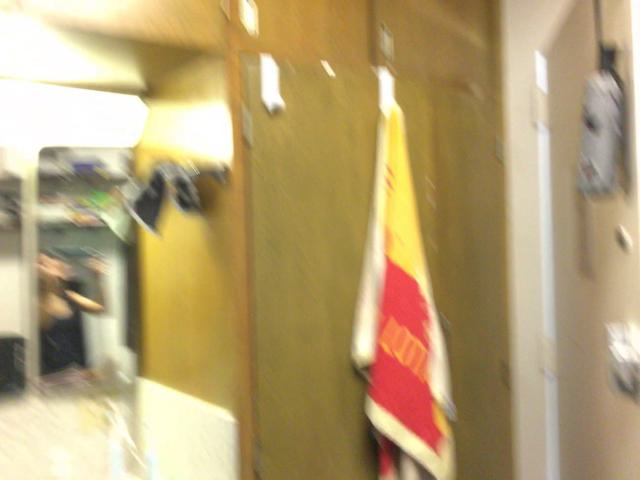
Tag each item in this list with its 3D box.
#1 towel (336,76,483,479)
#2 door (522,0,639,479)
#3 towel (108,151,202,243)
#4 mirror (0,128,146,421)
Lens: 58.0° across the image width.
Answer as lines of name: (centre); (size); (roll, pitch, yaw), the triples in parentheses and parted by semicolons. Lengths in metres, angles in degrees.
towel: (0.240, 0.240, 1.470); (0.310, 1.240, 0.140); (-3, -1, -40)
door: (0.660, 0.420, 1.350); (0.110, 2.120, 0.950); (-4, 0, 12)
towel: (-0.400, -0.100, 1.400); (0.160, 0.200, 0.150); (-3, -1, -40)
mirror: (-0.920, 0.090, 1.470); (0.870, 0.730, 0.190); (-3, -1, -40)
